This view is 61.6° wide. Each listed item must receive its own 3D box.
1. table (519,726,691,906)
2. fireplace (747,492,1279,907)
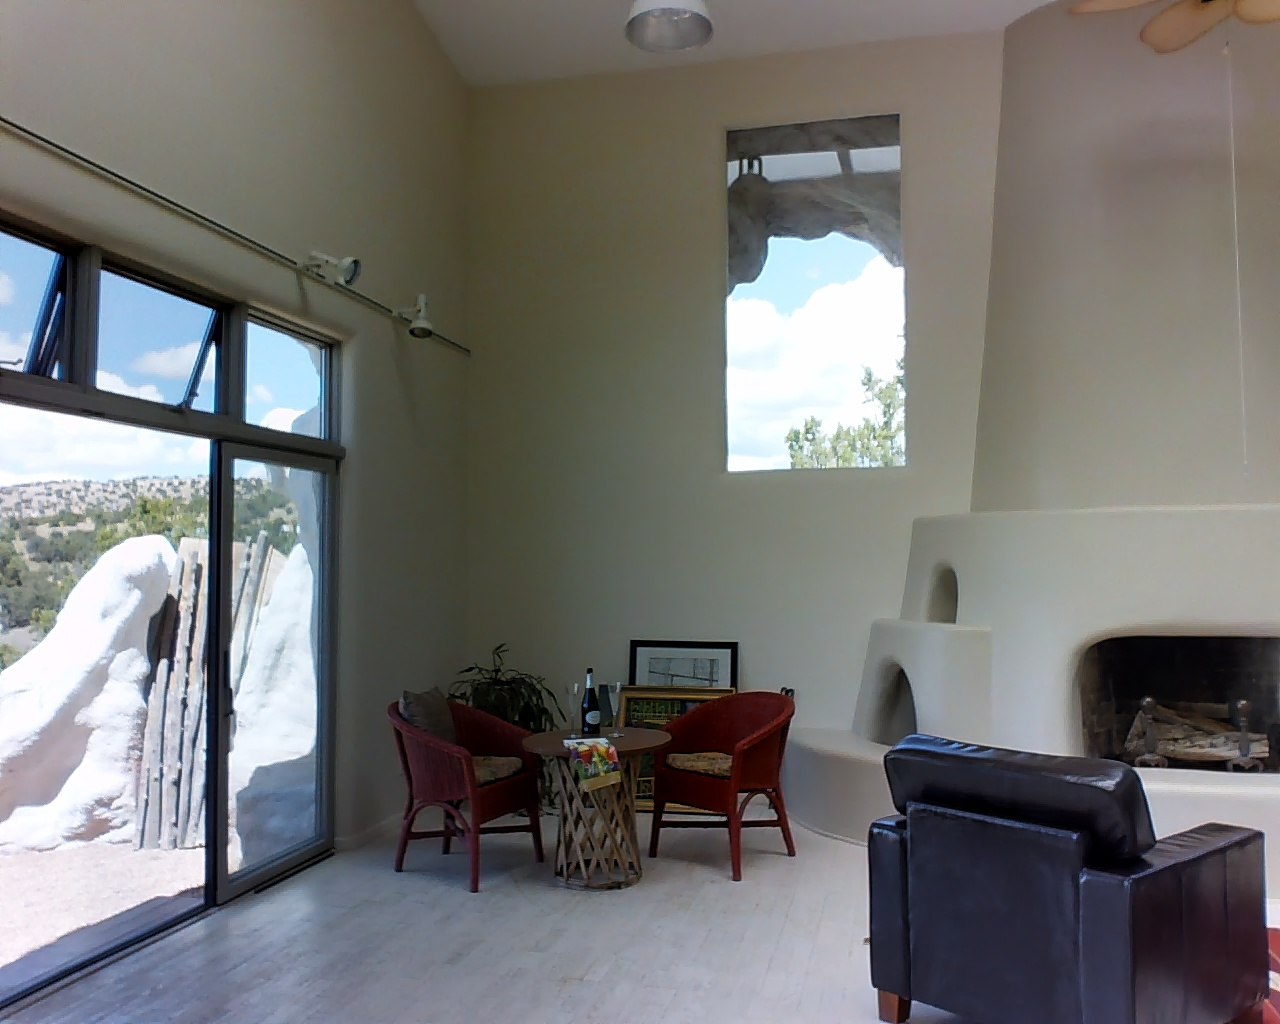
[{"bbox_3d":[-0.190,1.370,4.970,0.710,0.620,0.780,0,-3,-9],"label":"table"},{"bbox_3d":[2.799,0.830,5.320,4.329,1.761,1.470,-1,-3,14],"label":"fireplace"}]
